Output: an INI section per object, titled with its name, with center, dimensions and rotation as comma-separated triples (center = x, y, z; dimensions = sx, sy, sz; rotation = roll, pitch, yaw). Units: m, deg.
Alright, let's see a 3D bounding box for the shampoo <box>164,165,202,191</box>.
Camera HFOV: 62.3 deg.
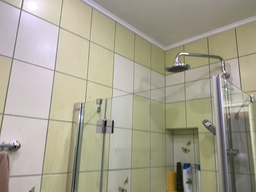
[shampoo]
center = 0.430, 0.640, 1.670
dimensions = 0.190, 0.160, 0.220
rotation = 14, -18, -43
